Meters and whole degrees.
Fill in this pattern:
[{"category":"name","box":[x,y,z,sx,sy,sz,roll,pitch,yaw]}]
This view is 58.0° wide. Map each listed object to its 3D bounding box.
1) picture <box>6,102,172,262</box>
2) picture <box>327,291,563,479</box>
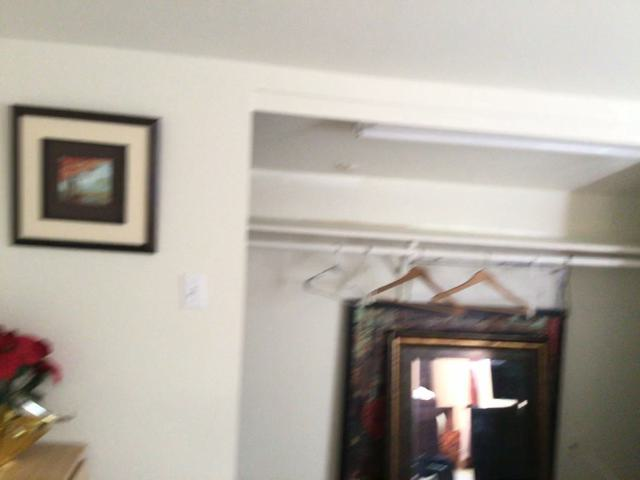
[{"category":"picture","box":[-0.700,-0.170,1.780,0.450,0.460,0.110,2,0,-6]},{"category":"picture","box":[0.560,0.840,2.650,0.960,1.080,0.180,8,-4,-7]}]
